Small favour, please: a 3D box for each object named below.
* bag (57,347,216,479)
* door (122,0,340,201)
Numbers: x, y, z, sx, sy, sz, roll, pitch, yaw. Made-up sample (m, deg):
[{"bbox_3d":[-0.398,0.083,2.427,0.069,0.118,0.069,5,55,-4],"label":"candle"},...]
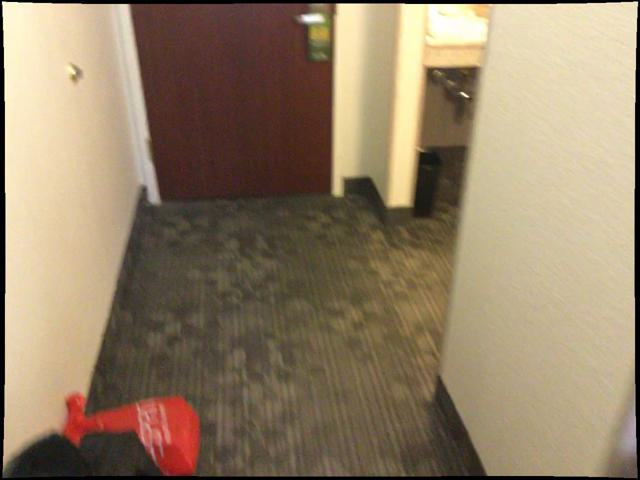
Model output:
[{"bbox_3d":[-0.480,0.501,1.590,0.360,0.240,0.280,-4,35,-10],"label":"bag"},{"bbox_3d":[-0.370,-1.071,2.470,0.909,1.951,0.130,-4,35,-10],"label":"door"}]
